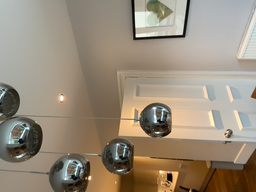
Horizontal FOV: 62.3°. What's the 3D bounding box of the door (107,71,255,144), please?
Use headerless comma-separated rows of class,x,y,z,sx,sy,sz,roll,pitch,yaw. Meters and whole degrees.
door,0.880,0.090,2.350,0.130,2.110,0.870,86,-173,-50
